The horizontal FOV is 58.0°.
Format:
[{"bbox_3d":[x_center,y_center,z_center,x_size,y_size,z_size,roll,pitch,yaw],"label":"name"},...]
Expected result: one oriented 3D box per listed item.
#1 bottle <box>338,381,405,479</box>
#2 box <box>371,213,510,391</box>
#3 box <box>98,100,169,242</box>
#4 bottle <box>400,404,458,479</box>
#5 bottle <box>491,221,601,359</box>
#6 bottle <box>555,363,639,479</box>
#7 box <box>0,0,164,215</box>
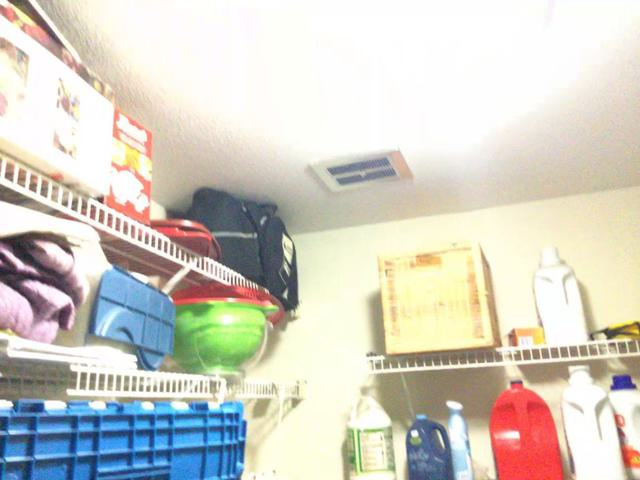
[{"bbox_3d":[0.170,0.640,1.910,0.170,0.320,0.160,-8,-18,17],"label":"bottle"},{"bbox_3d":[0.390,0.220,1.850,0.350,0.480,0.360,-8,-18,17],"label":"box"},{"bbox_3d":[-0.390,-0.140,1.230,0.030,0.250,0.180,-8,-18,17],"label":"box"},{"bbox_3d":[0.350,0.660,1.850,0.140,0.250,0.170,-8,-18,17],"label":"bottle"},{"bbox_3d":[0.690,0.170,1.800,0.250,0.360,0.280,-8,-18,17],"label":"bottle"},{"bbox_3d":[0.750,0.510,1.580,0.150,0.320,0.150,-8,-18,17],"label":"bottle"},{"bbox_3d":[-0.440,-0.230,0.980,0.130,0.250,0.400,-8,-18,17],"label":"box"}]
